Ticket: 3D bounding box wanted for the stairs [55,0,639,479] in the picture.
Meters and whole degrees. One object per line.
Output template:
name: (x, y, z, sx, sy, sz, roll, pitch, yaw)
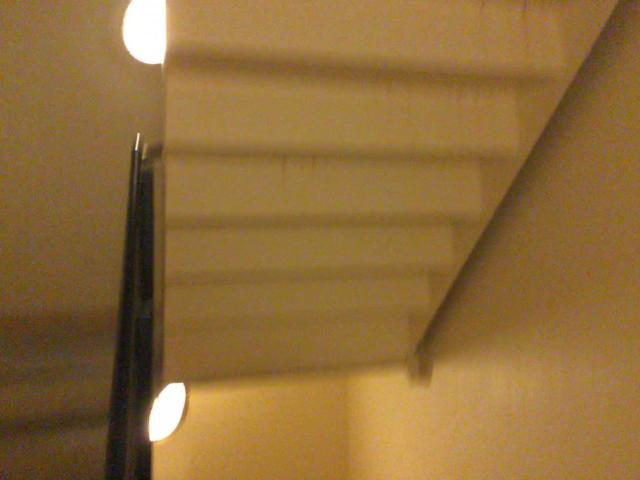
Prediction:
stairs: (0.110, -0.300, 1.710, 1.330, 2.130, 2.060, -1, 3, -16)
